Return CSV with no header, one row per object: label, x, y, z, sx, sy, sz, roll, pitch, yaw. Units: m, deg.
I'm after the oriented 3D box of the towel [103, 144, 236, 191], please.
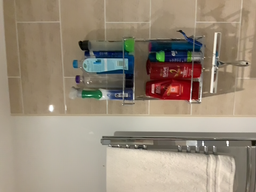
towel,0.180,0.430,1.010,0.100,0.580,0.380,-89,0,-80
